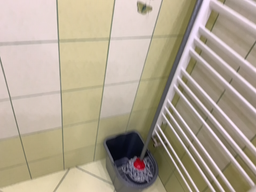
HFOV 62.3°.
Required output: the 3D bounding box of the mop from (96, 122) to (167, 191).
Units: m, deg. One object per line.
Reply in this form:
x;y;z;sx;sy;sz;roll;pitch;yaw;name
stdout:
0.000;0.430;1.390;0.290;0.290;0.360;-10;47;-25;mop
